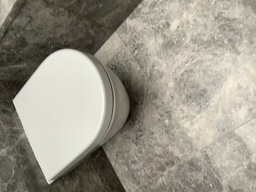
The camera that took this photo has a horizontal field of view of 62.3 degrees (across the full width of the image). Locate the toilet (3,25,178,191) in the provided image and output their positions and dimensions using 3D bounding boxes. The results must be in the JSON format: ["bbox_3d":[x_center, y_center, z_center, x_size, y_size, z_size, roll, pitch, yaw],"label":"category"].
[{"bbox_3d":[-0.150,0.060,0.930,0.480,0.450,0.380,-40,71,25],"label":"toilet"}]
